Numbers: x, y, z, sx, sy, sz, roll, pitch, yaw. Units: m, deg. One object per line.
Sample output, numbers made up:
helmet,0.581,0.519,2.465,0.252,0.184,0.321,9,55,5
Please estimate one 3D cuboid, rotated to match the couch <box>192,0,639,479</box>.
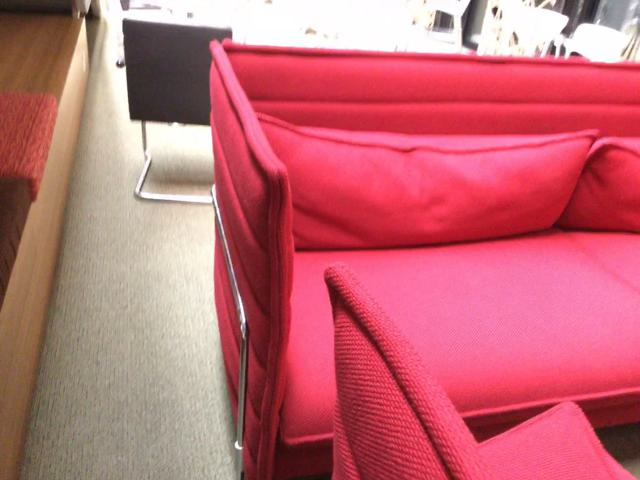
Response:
couch,0.910,-0.040,1.650,2.430,1.060,0.960,1,27,-15
